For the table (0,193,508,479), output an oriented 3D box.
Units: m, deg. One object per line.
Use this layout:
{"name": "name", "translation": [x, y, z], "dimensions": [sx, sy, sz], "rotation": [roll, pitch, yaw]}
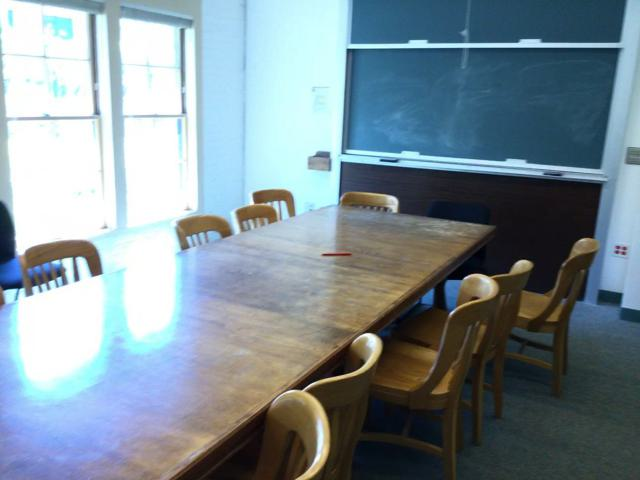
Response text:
{"name": "table", "translation": [-0.250, 0.490, 2.570], "dimensions": [1.440, 0.880, 3.540], "rotation": [9, 14, 25]}
